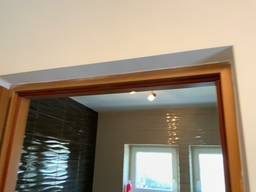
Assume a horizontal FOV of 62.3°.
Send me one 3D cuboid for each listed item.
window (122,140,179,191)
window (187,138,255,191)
[{"bbox_3d":[0.340,1.050,3.100,0.760,0.740,0.330,-2,-18,16],"label":"window"},{"bbox_3d":[1.220,1.000,2.820,0.790,0.840,0.250,-2,-18,16],"label":"window"}]
